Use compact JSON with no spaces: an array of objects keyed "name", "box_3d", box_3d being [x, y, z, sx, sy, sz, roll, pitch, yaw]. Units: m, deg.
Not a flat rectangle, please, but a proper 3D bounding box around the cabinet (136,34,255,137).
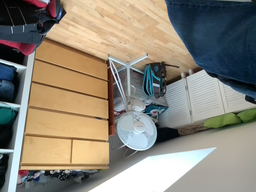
[{"name":"cabinet","box_3d":[1.070,-0.060,2.660,0.420,0.740,2.310,15,152,-40]}]
